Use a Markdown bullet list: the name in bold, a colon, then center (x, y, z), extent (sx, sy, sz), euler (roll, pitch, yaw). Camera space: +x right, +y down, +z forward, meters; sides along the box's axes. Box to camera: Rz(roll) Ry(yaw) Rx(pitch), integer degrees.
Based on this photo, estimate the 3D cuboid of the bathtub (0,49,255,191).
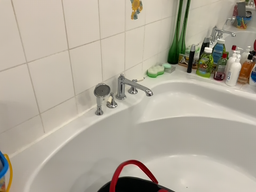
- **bathtub**: center (0.400, 0.510, 1.000), extent (1.470, 0.750, 1.490), euler (25, 39, 32)
